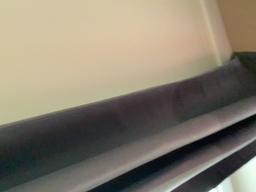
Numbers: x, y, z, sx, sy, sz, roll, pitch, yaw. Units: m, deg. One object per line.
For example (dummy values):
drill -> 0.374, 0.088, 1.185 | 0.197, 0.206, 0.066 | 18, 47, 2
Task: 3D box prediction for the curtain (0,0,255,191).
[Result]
curtain -> -0.150, 0.100, 0.400 | 0.220, 2.410, 0.530 | -16, 84, 51
